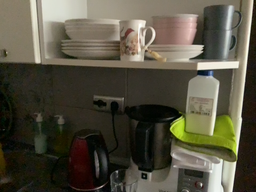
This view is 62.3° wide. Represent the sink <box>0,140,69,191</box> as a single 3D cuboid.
[{"bbox_3d":[-0.580,0.410,0.910,0.420,0.210,0.480,5,13,19],"label":"sink"}]
